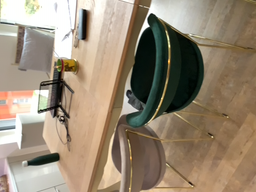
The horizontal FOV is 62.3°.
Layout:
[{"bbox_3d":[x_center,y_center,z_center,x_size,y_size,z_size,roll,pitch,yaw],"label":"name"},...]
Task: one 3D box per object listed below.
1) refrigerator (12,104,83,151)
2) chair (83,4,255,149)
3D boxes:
[{"bbox_3d":[-1.090,0.400,2.900,0.380,0.800,0.370,39,122,42],"label":"refrigerator"},{"bbox_3d":[0.240,-0.150,1.240,0.560,0.760,0.540,32,117,45],"label":"chair"}]
